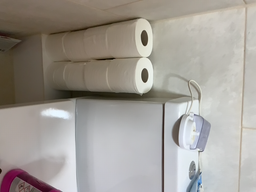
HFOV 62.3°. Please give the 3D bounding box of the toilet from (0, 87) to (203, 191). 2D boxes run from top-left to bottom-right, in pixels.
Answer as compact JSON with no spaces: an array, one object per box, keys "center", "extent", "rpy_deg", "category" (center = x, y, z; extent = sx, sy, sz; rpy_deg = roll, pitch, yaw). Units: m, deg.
[{"center":[-0.280,0.200,0.610],"extent":[0.610,0.780,0.380],"rpy_deg":[-10,102,-53],"category":"toilet"}]
